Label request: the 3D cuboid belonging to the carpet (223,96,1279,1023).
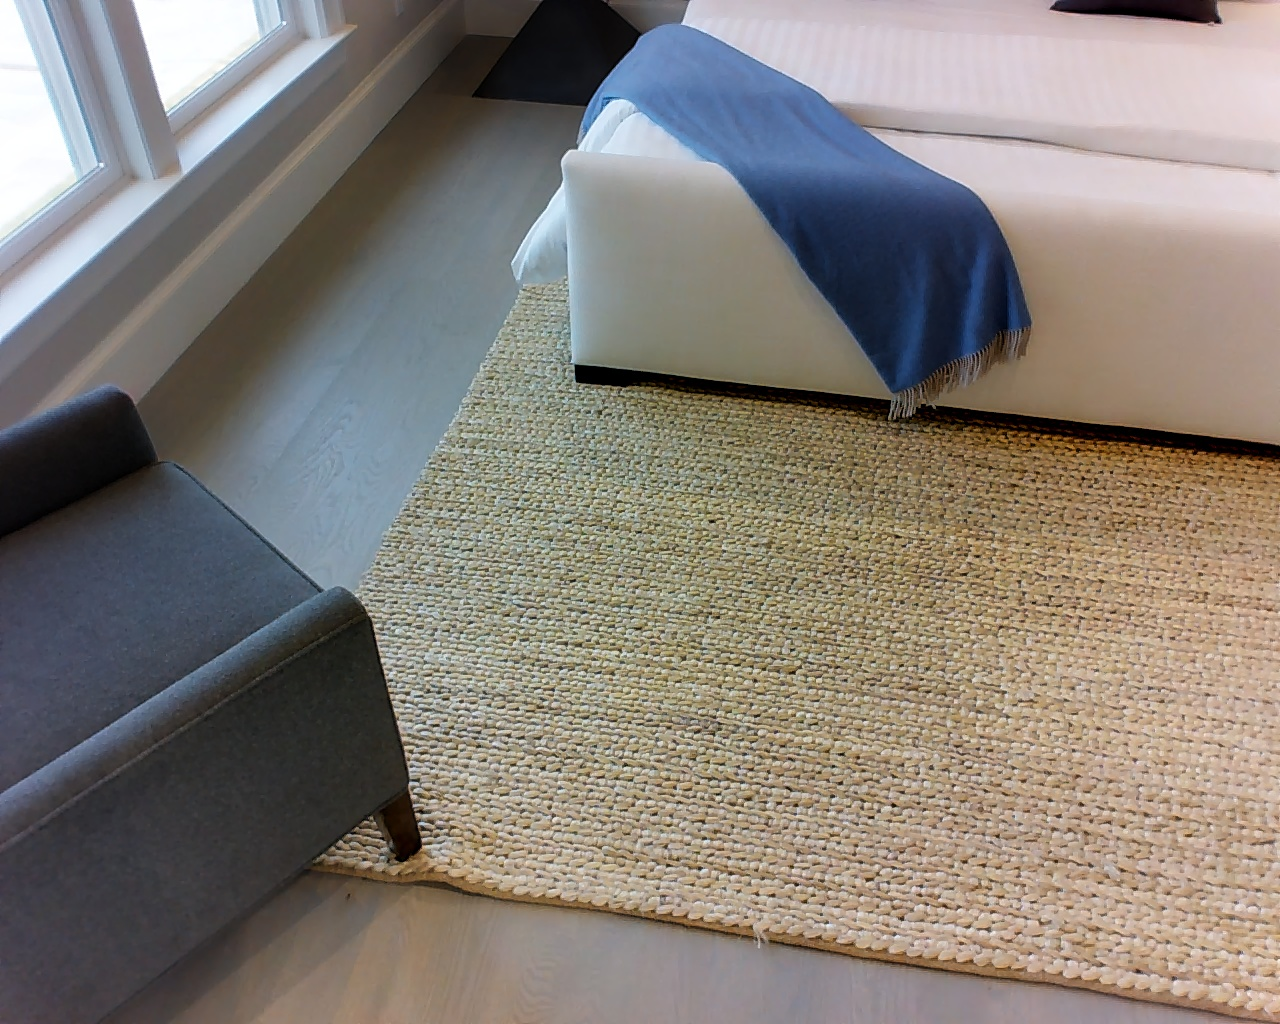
[{"bbox_3d":[0.850,-0.360,2.760,2.510,0.030,3.200,7,42,7],"label":"carpet"}]
